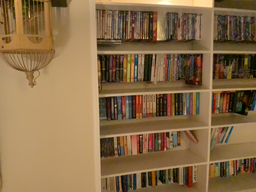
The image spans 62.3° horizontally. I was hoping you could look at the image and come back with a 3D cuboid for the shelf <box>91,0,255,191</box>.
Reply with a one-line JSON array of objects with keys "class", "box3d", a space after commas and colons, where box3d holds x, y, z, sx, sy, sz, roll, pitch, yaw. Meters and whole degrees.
[{"class": "shelf", "box3d": [0.580, -0.020, 1.640, 1.650, 1.930, 0.480, -2, -172, -12]}]
